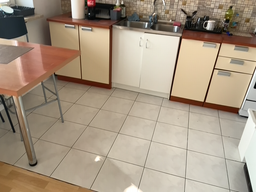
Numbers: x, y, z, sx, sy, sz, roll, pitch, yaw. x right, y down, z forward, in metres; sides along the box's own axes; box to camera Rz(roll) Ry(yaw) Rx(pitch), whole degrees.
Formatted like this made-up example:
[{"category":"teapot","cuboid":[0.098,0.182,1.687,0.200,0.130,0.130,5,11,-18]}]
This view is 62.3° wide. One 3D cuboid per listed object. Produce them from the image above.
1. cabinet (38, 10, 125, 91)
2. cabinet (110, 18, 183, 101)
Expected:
[{"category":"cabinet","cuboid":[-0.600,-0.660,2.950,0.940,0.850,0.570,12,31,12]},{"category":"cabinet","cuboid":[0.230,-0.500,2.800,0.780,0.850,0.520,12,31,12]}]
